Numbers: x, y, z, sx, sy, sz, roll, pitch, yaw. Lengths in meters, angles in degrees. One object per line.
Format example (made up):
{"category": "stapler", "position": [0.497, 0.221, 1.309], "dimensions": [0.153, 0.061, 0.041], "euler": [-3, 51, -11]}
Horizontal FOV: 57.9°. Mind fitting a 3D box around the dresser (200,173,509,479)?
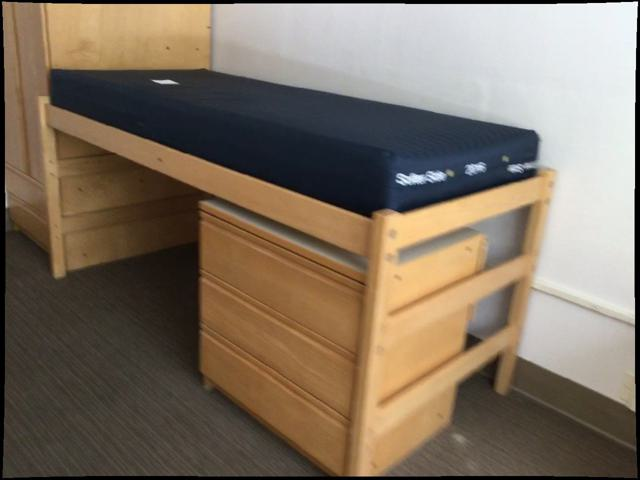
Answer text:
{"category": "dresser", "position": [0.080, 0.260, 2.060], "dimensions": [0.780, 0.751, 0.670], "euler": [24, 28, 40]}
